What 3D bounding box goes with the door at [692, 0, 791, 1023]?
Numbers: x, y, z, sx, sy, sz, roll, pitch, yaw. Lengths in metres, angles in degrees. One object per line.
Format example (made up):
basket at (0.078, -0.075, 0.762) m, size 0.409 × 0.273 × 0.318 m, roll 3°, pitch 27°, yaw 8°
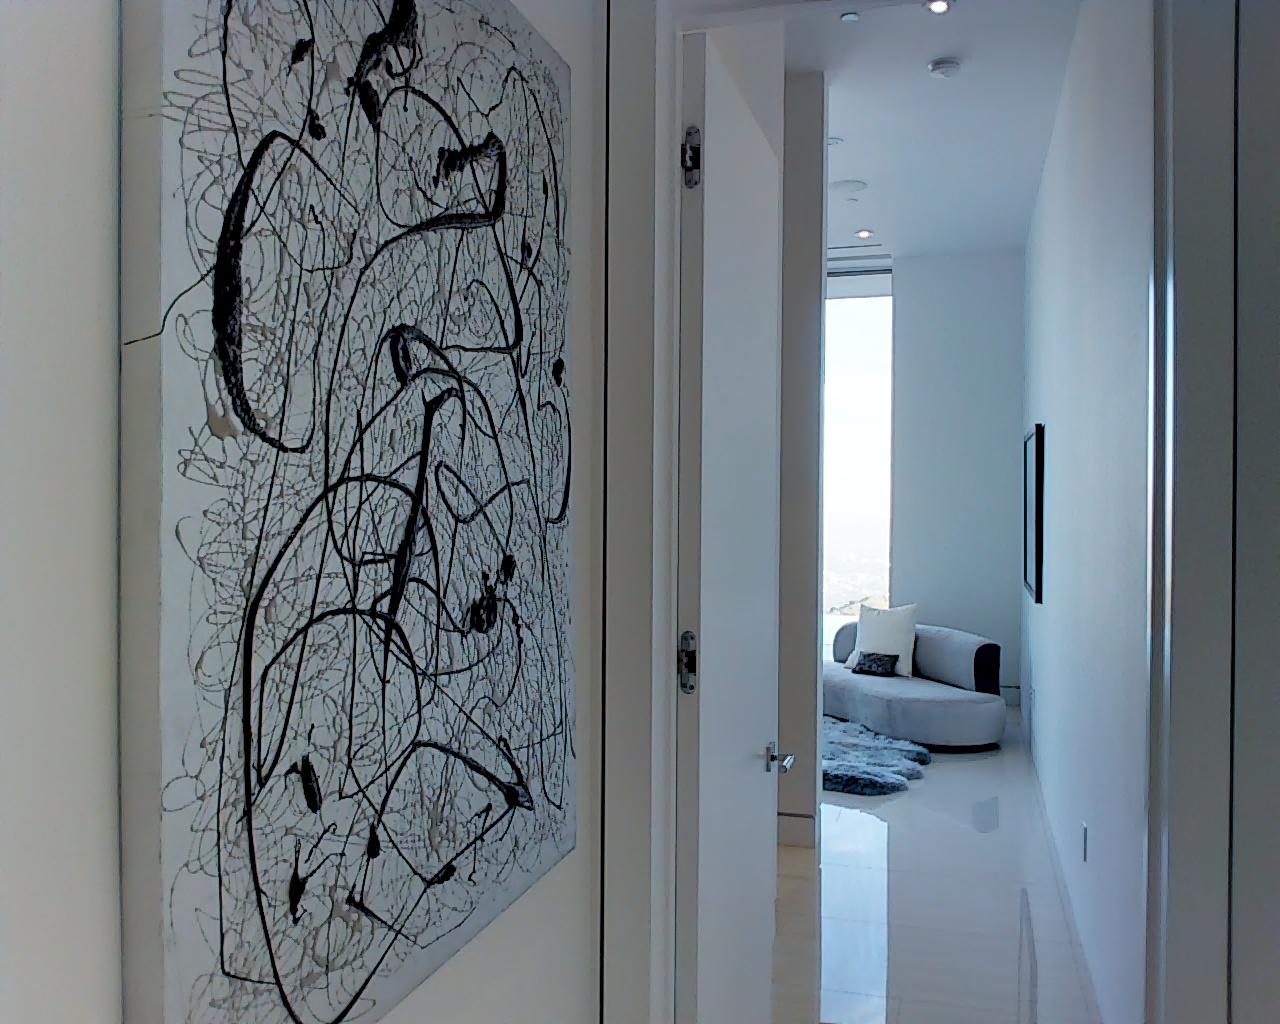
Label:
door at (0.240, 0.260, 2.400) m, size 0.050 × 2.530 × 0.780 m, roll 1°, pitch 0°, yaw 17°
